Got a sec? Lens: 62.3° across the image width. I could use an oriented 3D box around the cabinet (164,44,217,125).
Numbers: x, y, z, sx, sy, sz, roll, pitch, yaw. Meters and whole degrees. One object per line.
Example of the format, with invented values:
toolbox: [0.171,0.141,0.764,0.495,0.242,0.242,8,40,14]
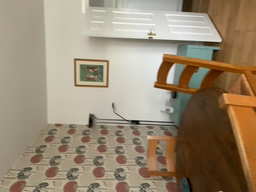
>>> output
cabinet: [0.920,-0.210,3.300,0.630,0.460,1.150,-106,19,-76]
